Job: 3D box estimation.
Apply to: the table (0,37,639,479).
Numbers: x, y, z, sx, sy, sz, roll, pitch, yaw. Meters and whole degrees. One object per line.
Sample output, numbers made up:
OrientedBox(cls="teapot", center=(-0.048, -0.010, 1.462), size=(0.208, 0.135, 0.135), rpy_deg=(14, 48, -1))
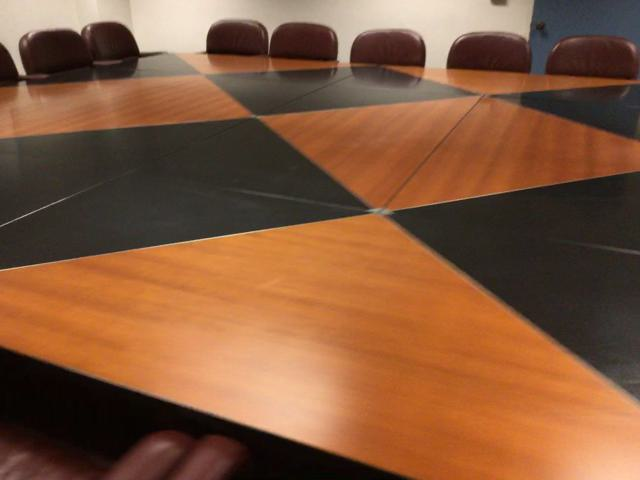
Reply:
OrientedBox(cls="table", center=(-0.150, -0.580, 2.650), size=(3.590, 0.250, 3.680), rpy_deg=(13, 27, 26))

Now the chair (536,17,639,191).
OrientedBox(cls="chair", center=(1.880, -0.920, 3.790), size=(0.680, 0.970, 0.660), rpy_deg=(10, 26, 22))

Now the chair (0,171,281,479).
OrientedBox(cls="chair", center=(-0.500, 0.440, 1.010), size=(0.600, 0.900, 0.650), rpy_deg=(13, 27, 26))

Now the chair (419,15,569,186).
OrientedBox(cls="chair", center=(1.170, -0.980, 3.930), size=(0.740, 0.980, 0.650), rpy_deg=(12, 27, 26))
